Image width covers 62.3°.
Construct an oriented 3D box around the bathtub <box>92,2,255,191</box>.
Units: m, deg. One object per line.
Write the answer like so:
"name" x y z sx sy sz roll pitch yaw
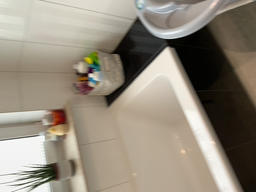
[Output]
"bathtub" 0.460 0.530 1.290 0.760 0.610 2.060 -45 57 46
